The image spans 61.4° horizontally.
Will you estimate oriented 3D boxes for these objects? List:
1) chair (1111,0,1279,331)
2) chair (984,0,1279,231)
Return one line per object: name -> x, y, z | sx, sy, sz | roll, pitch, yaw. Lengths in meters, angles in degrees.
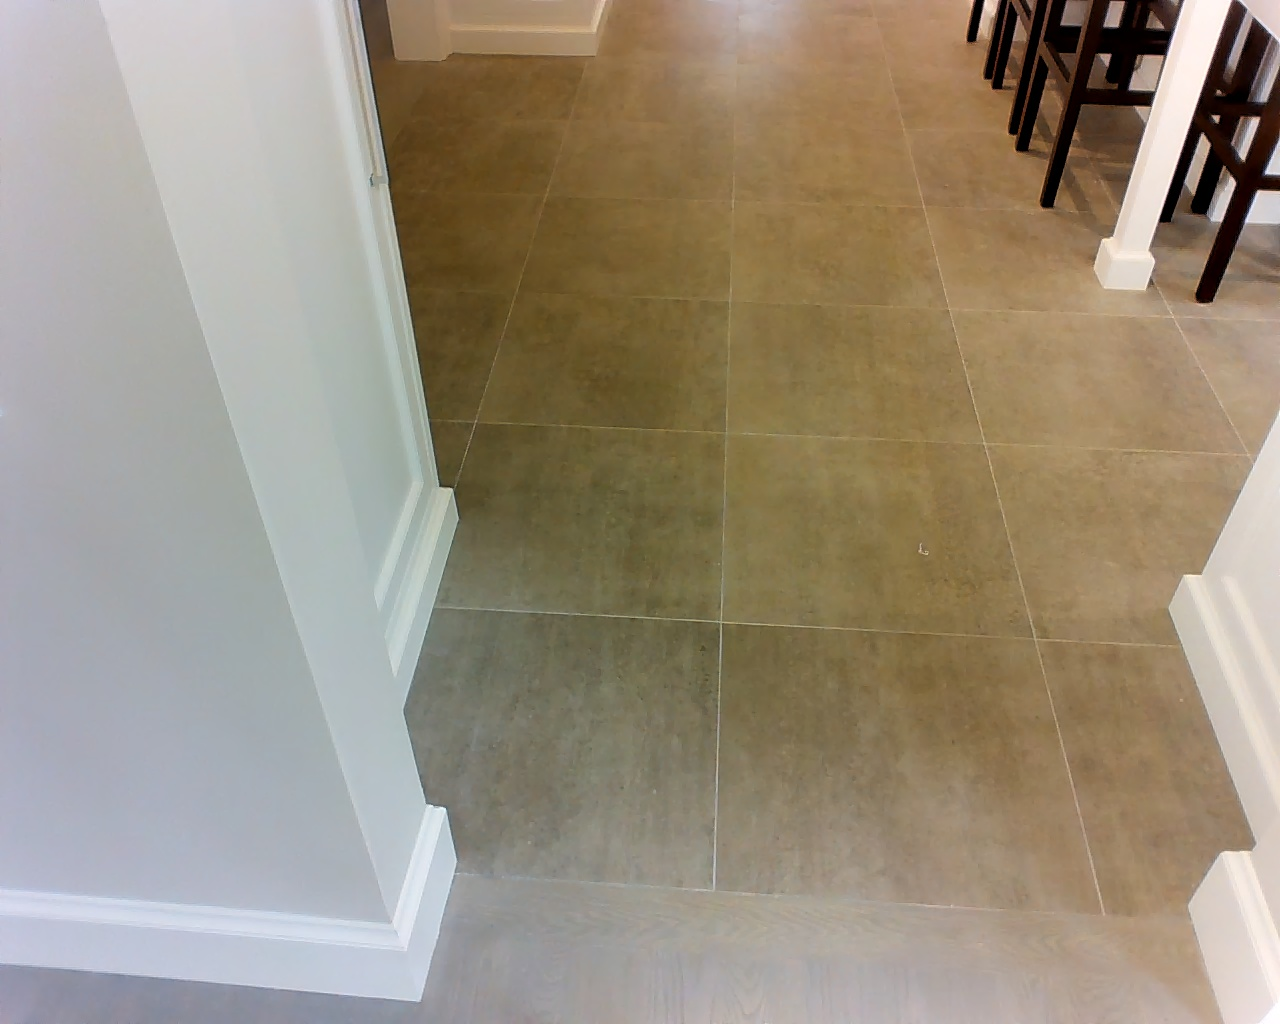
chair -> 1.750, -1.100, 2.780 | 0.580, 1.080, 0.630 | 3, 42, 3
chair -> 1.510, -1.480, 3.220 | 0.630, 1.060, 0.600 | 3, 42, 3
